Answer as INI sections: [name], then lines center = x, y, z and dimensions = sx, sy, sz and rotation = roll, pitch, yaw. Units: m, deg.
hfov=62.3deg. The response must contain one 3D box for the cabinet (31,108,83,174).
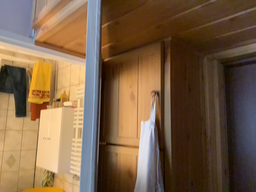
[cabinet]
center = -0.760, 0.440, 2.220
dimensions = 0.210, 0.580, 0.660
rotation = 9, -11, -44
